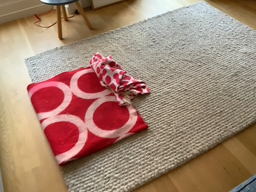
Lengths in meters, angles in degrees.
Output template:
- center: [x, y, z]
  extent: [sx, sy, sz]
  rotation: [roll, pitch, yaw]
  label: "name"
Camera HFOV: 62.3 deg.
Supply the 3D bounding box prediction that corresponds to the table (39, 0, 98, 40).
- center: [-0.670, -0.980, 2.350]
  extent: [0.440, 0.410, 0.450]
  rotation: [-30, 55, -21]
  label: "table"
